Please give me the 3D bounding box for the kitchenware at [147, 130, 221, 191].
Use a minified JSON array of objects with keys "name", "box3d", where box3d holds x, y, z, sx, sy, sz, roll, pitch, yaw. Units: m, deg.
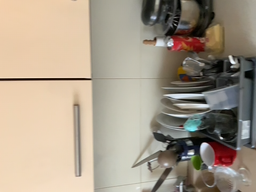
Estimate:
[{"name":"kitchenware","box3d":[0.270,0.310,1.090,0.270,0.260,0.180,-150,60,-72]}]
